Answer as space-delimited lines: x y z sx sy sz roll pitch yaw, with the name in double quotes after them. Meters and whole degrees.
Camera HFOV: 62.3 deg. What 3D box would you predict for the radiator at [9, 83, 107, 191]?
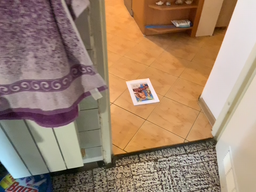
-0.280 0.210 0.970 0.320 0.490 0.150 -14 46 -16 "radiator"
